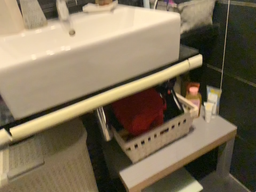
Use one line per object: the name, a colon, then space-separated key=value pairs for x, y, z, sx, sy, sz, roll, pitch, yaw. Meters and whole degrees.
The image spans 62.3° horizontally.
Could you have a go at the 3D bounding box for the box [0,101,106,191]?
box: x=-0.350 y=0.420 z=0.950 sx=0.430 sy=0.610 sz=0.310 roll=-21 pitch=34 yaw=-19
